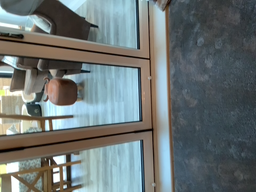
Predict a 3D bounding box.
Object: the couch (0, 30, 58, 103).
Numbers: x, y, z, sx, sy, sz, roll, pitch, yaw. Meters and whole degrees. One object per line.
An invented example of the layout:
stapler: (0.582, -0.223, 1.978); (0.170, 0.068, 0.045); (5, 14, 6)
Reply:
couch: (-1.920, -0.440, 3.760); (1.160, 0.910, 0.820); (-27, 69, 50)

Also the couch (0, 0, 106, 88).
couch: (-1.010, -0.730, 2.550); (1.020, 0.930, 0.930); (38, 120, 46)
